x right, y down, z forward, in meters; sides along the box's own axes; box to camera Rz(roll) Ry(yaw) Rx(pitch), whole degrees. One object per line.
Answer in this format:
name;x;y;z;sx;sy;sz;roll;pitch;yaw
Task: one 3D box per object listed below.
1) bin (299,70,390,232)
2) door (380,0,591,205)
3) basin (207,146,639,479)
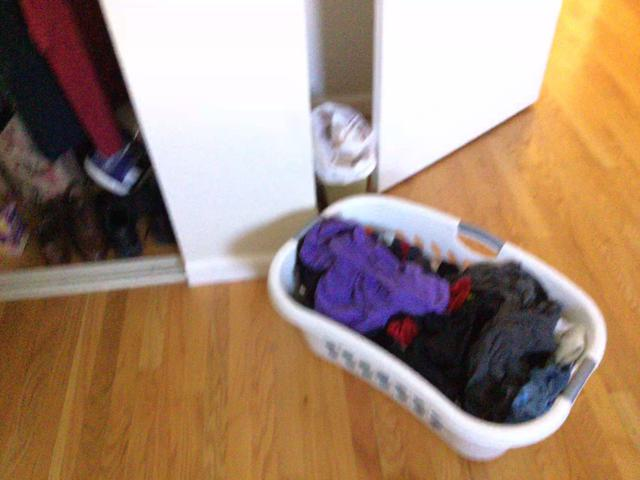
bin;0.070;-0.280;1.800;0.220;0.330;0.360;-6;45;-2
door;0.520;-0.820;1.570;0.810;1.380;0.120;-31;51;-24
basin;0.240;0.180;1.390;0.770;0.300;0.610;30;54;29
